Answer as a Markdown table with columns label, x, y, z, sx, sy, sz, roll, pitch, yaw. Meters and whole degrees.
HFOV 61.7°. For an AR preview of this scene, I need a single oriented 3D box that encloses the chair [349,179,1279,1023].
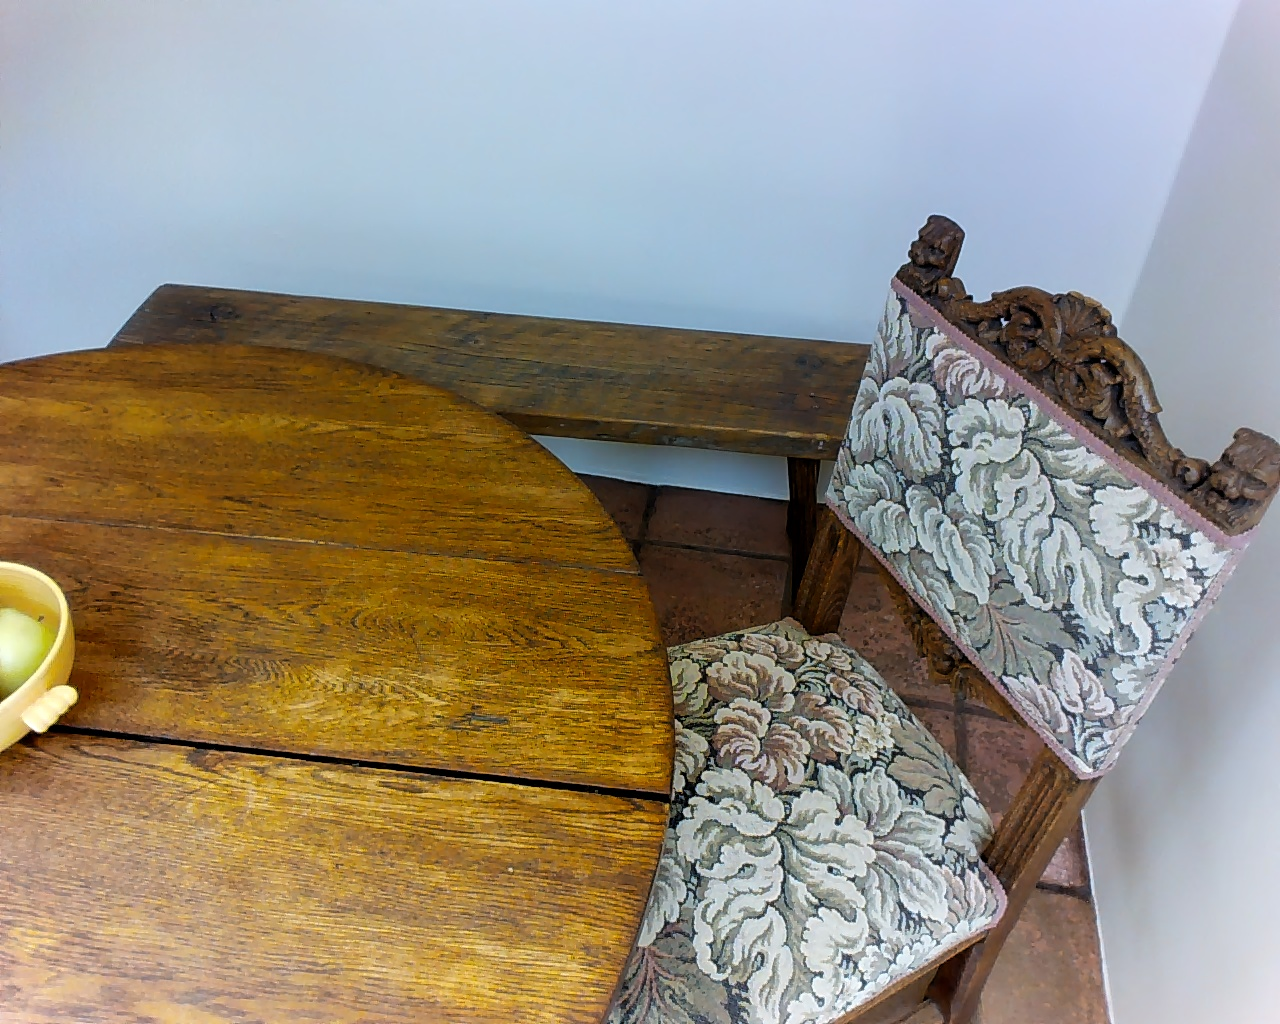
| label | x | y | z | sx | sy | sz | roll | pitch | yaw |
| --- | --- | --- | --- | --- | --- | --- | --- | --- | --- |
| chair | 0.170 | 0.330 | 1.070 | 0.690 | 0.970 | 0.770 | -10 | 43 | -11 |

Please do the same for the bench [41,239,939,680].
| label | x | y | z | sx | sy | sz | roll | pitch | yaw |
| --- | --- | --- | --- | --- | --- | --- | --- | --- | --- |
| bench | -0.230 | -0.120 | 1.980 | 1.440 | 0.450 | 0.470 | 7 | 43 | 7 |
